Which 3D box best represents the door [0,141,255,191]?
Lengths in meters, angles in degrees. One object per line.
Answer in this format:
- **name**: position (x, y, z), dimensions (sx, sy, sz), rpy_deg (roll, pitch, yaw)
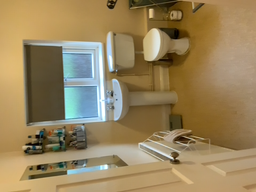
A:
- **door**: position (0.250, 0.400, 0.940), dimensions (0.750, 1.930, 0.050), rpy_deg (-177, 84, -72)
